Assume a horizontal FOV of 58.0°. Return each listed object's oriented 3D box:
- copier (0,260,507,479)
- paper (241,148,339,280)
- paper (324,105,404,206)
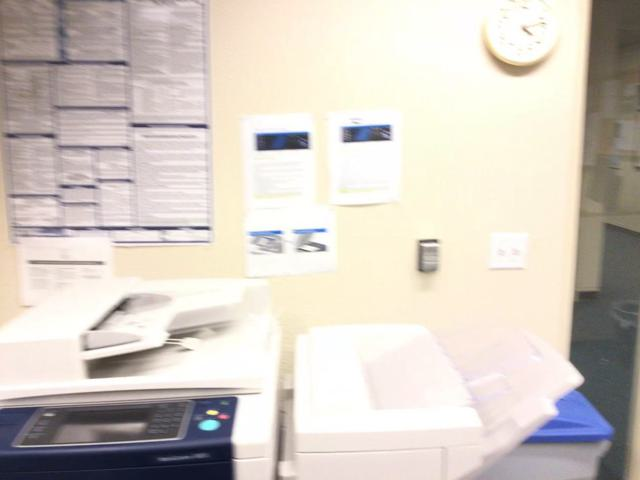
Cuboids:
[{"bbox_3d":[-0.190,0.650,1.330,1.040,1.070,0.600,-4,6,-4],"label":"copier"},{"bbox_3d":[-0.090,-0.080,1.760,0.270,0.380,0.070,-4,6,-4],"label":"paper"},{"bbox_3d":[0.130,-0.250,1.720,0.220,0.280,0.040,-4,6,-4],"label":"paper"}]
